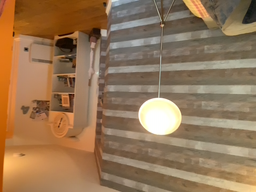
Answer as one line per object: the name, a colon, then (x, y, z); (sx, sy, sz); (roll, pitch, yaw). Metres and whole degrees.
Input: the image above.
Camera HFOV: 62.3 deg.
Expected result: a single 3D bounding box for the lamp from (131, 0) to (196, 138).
lamp: (0.350, -0.500, 1.930); (0.380, 1.650, 0.470); (1, 178, 33)
